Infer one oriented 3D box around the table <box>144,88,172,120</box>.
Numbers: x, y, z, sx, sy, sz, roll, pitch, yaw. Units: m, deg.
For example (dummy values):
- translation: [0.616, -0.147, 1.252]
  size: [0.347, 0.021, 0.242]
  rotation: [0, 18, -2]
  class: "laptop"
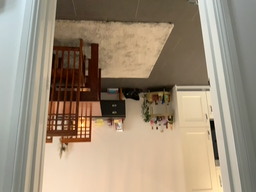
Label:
- translation: [0.630, 0.180, 4.570]
  size: [0.500, 0.610, 0.410]
  rotation: [-1, 165, -4]
  class: "table"
